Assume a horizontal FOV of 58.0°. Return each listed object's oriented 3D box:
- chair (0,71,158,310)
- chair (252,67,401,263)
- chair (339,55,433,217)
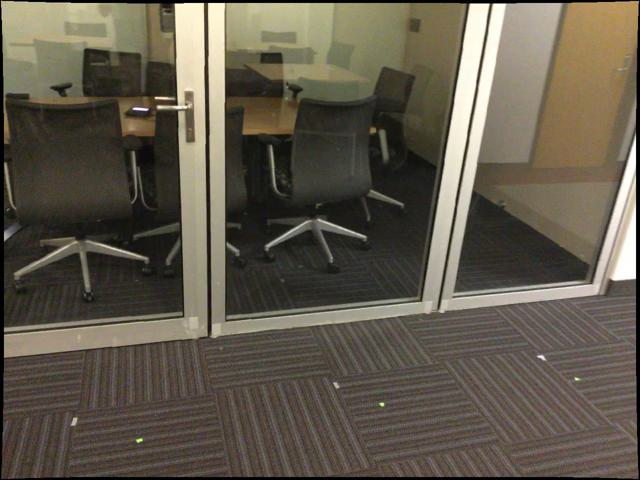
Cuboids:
[{"bbox_3d":[-1.187,-0.271,2.830,0.668,0.962,0.650,-4,28,-13],"label":"chair"},{"bbox_3d":[-0.010,-0.441,3.230,0.659,0.912,0.600,-4,28,-13],"label":"chair"},{"bbox_3d":[0.389,-0.672,3.690,0.369,0.902,0.510,-4,28,-13],"label":"chair"}]
